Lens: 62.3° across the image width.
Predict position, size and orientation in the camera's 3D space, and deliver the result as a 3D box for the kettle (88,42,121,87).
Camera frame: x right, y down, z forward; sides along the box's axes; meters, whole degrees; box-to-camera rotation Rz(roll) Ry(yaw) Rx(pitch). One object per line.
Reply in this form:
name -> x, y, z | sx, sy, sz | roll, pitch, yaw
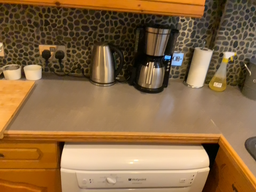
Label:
kettle -> -0.140, -0.180, 1.210 | 0.170, 0.210, 0.140 | 1, 28, -9
